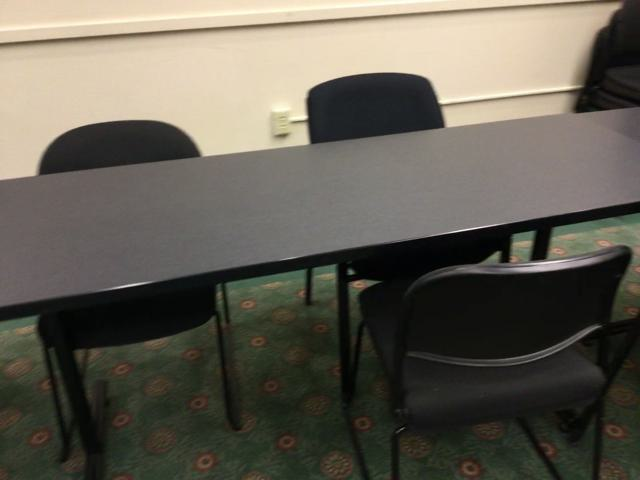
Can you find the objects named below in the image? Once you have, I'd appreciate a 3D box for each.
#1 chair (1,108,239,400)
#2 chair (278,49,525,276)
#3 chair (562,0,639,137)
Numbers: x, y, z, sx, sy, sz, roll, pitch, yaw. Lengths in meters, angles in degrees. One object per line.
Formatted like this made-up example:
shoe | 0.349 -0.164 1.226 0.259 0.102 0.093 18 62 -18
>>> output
chair | -0.550 0.040 1.780 0.540 0.800 0.330 -4 27 -10
chair | 0.200 -0.260 1.800 0.580 0.560 0.450 -3 26 -13
chair | 1.470 -0.780 2.480 0.430 0.550 0.620 -6 27 -14
